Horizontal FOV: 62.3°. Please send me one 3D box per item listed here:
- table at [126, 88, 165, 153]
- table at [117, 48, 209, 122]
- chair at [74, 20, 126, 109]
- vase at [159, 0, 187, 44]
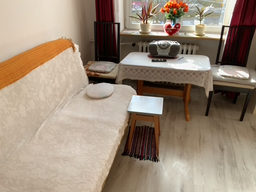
[{"bbox_3d":[0.180,0.230,2.130,0.300,0.460,0.420,7,29,12],"label":"table"},{"bbox_3d":[0.430,-0.180,2.700,1.000,0.630,0.610,8,30,13],"label":"table"},{"bbox_3d":[-0.310,-0.420,2.750,0.450,0.990,0.530,8,30,13],"label":"chair"},{"bbox_3d":[0.610,-1.010,2.880,0.290,0.520,0.270,9,30,15],"label":"vase"}]
